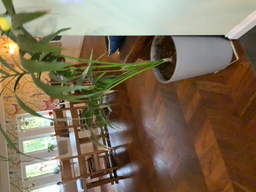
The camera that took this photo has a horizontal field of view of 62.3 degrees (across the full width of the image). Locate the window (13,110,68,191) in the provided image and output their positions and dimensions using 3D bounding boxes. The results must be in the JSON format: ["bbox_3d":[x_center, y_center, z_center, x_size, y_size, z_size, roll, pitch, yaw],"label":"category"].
[{"bbox_3d":[-2.490,1.930,6.110,0.370,1.190,2.890,138,122,-63],"label":"window"}]
